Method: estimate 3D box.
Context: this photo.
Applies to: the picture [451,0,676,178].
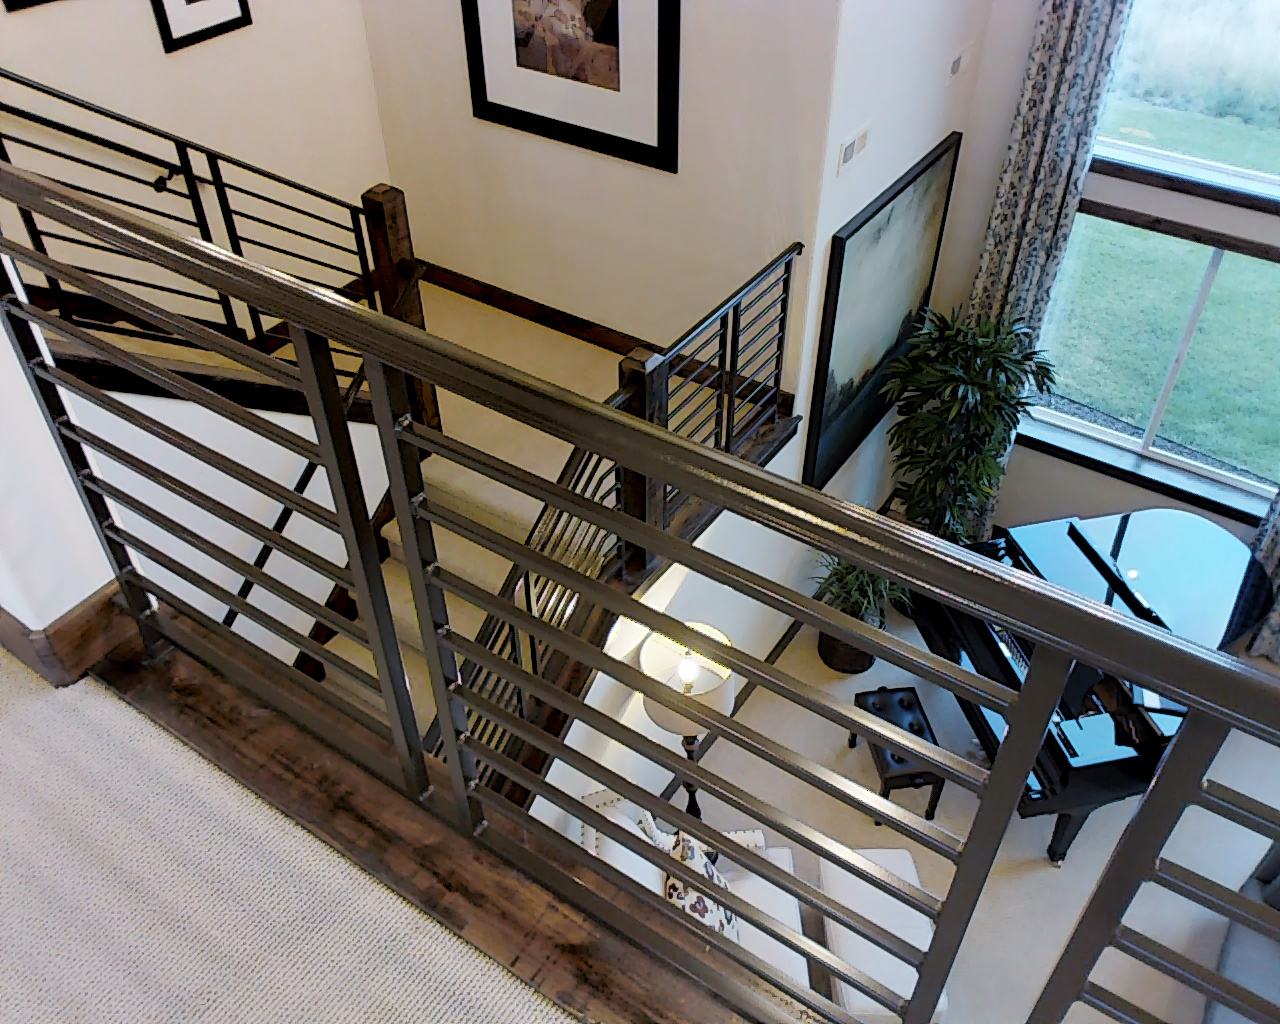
[{"bbox_3d":[-0.360,-2.090,4.750,1.190,0.960,0.040,23,46,24],"label":"picture"}]
